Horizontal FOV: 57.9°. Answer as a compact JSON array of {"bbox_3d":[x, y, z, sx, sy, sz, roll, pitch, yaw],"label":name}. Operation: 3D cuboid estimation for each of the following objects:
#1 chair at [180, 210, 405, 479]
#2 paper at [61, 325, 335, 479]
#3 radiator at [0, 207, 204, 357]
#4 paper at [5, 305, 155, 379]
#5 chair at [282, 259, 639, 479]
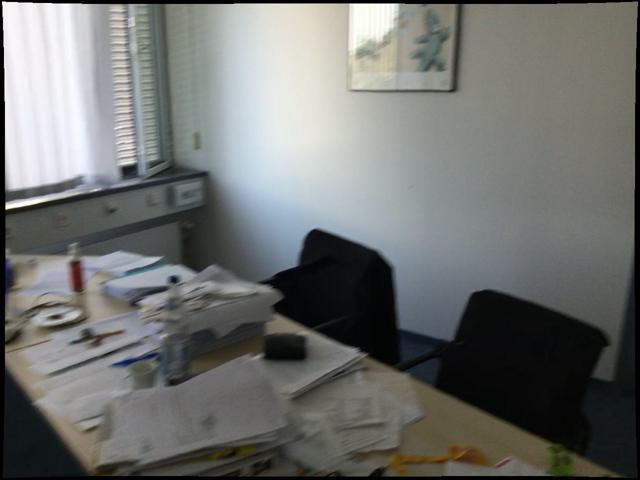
[{"bbox_3d":[-0.110,0.410,2.330,0.640,0.861,0.600,-13,21,-31],"label":"chair"},{"bbox_3d":[-0.270,0.390,1.210,0.470,0.180,0.410,-9,20,-22],"label":"paper"},{"bbox_3d":[-1.339,0.190,3.530,0.230,0.440,1.430,12,23,35],"label":"radiator"},{"bbox_3d":[-0.729,0.300,1.770,0.240,0.020,0.360,16,25,42],"label":"paper"},{"bbox_3d":[0.380,0.601,1.590,0.750,0.831,0.550,-16,23,-38],"label":"chair"}]
